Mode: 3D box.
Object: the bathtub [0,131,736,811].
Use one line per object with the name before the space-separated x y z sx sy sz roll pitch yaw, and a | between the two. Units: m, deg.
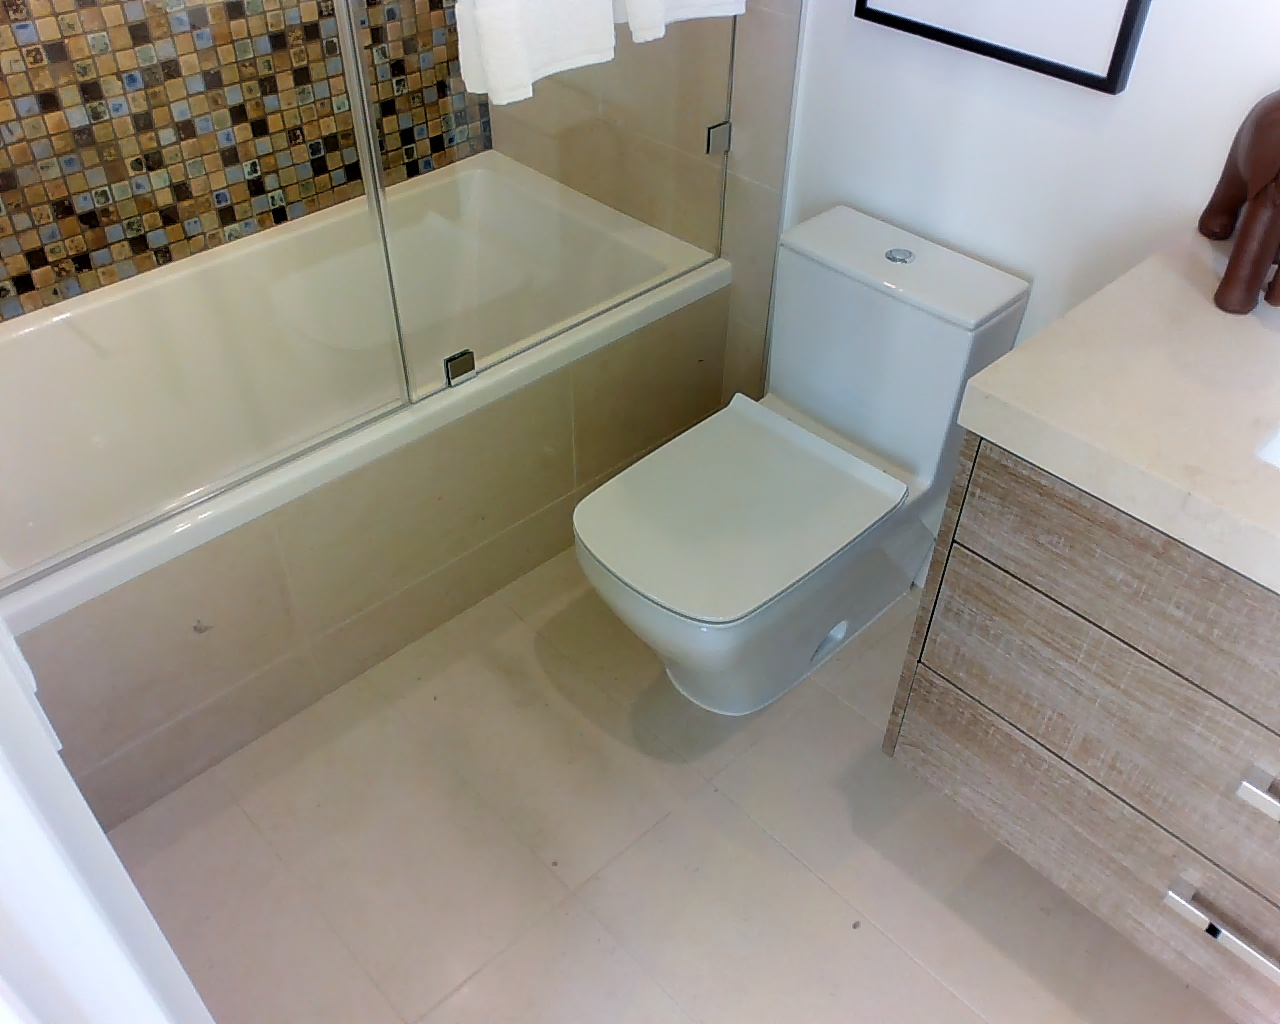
bathtub | -0.590 -0.210 2.180 1.400 0.520 0.790 -32 51 -31
